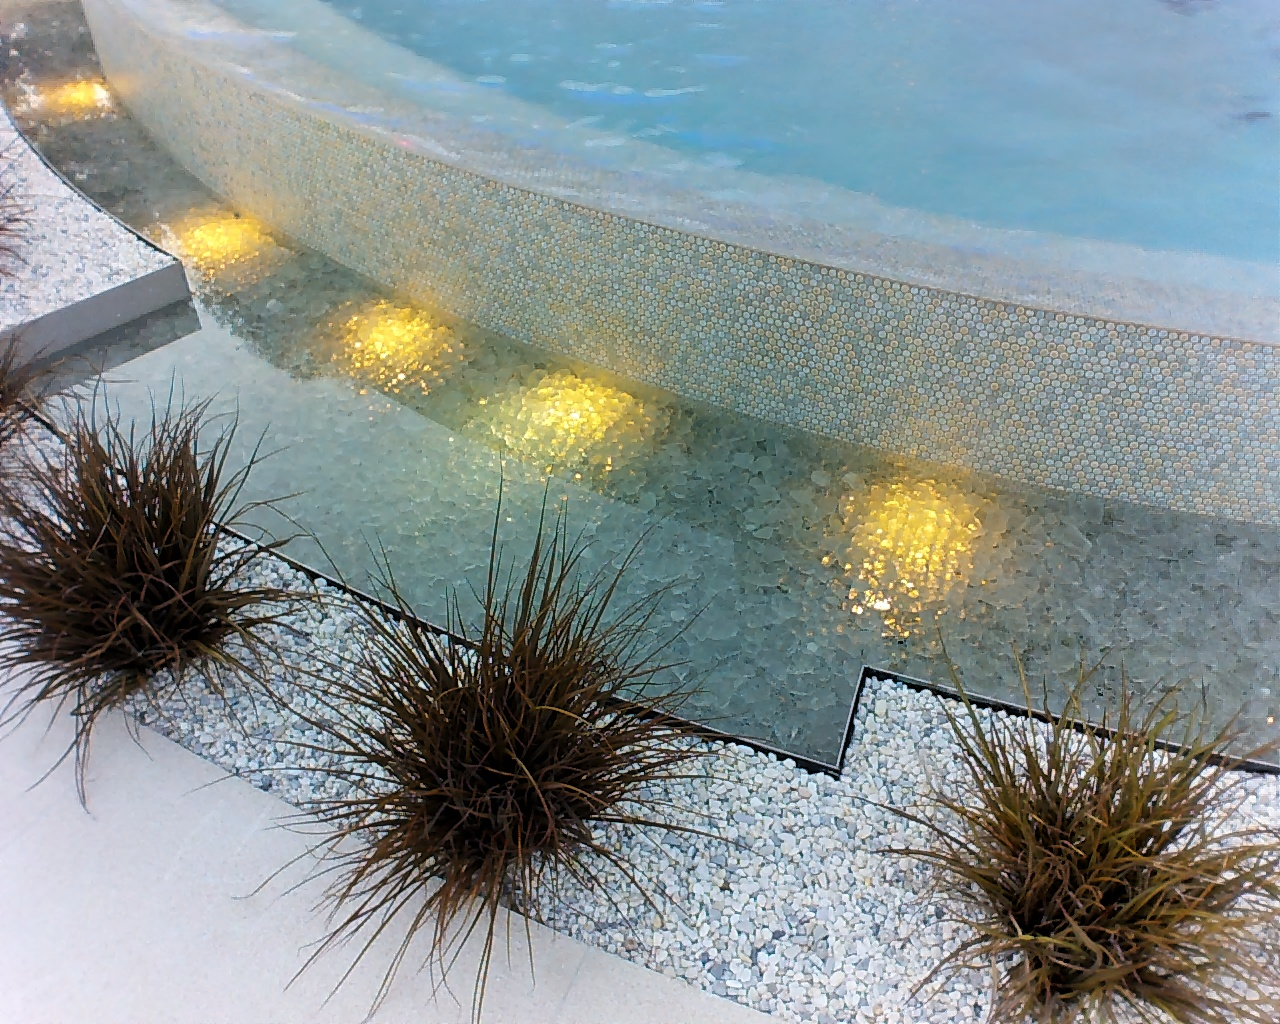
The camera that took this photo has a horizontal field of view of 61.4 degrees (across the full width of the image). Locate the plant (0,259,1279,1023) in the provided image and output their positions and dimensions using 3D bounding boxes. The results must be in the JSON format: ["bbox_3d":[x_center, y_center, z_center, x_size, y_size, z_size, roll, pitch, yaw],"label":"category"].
[{"bbox_3d":[0.150,0.300,1.670,4.430,0.520,0.600,16,43,16],"label":"plant"}]
